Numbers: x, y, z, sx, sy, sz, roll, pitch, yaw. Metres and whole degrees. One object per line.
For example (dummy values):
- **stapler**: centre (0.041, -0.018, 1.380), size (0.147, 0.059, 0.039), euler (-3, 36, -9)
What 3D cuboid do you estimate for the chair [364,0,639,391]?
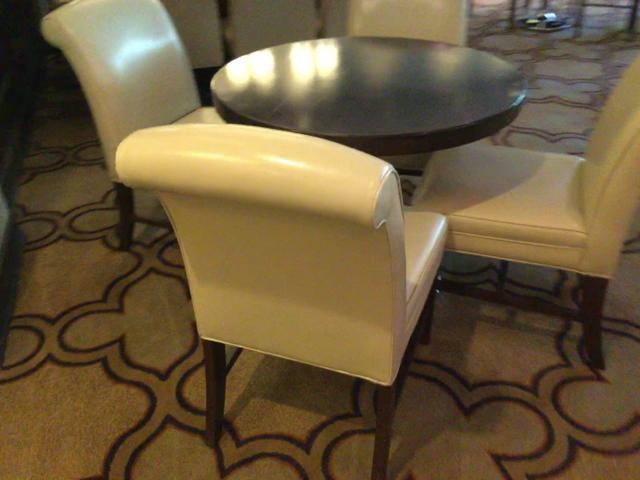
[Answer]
- **chair**: centre (0.620, -0.170, 1.670), size (0.830, 0.880, 0.560), euler (11, 37, 21)

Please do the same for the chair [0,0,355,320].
- **chair**: centre (-0.440, -0.390, 2.130), size (0.920, 0.950, 0.660), euler (14, 38, 24)

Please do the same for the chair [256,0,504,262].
- **chair**: centre (0.290, -0.590, 2.280), size (0.680, 0.940, 0.840), euler (10, 37, 19)

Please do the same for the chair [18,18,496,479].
- **chair**: centre (-0.010, 0.070, 1.390), size (0.600, 0.930, 0.850), euler (11, 37, 21)
